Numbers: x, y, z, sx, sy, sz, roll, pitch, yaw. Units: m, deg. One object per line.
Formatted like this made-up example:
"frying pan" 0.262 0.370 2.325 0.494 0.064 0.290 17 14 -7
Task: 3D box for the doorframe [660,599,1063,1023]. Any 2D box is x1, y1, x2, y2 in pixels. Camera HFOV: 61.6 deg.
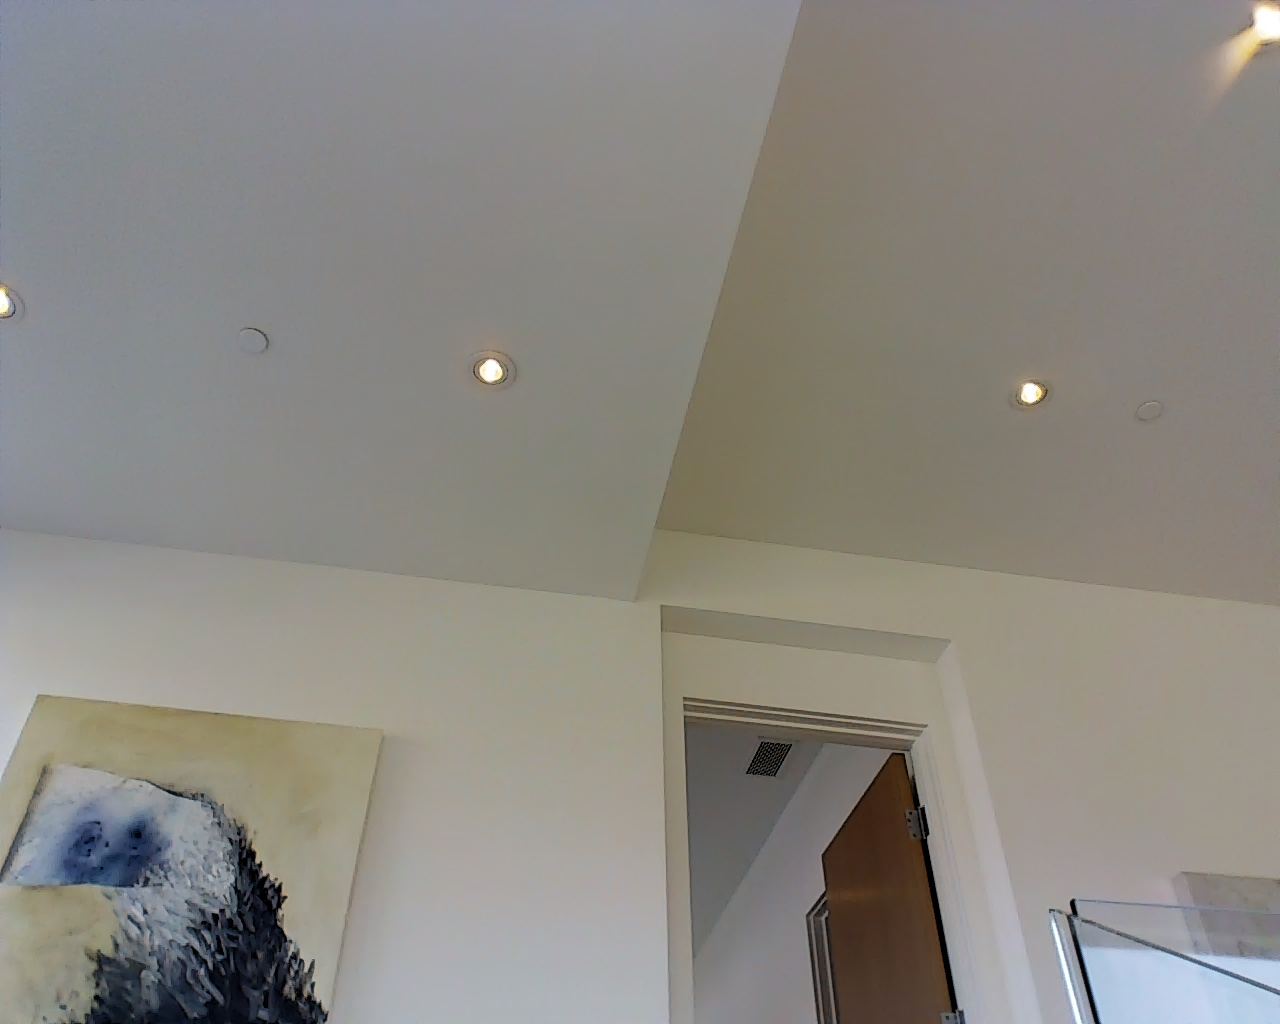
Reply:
"doorframe" 0.580 1.410 2.730 1.030 0.180 2.720 7 47 -7

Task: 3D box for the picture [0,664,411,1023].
"picture" -1.180 0.990 2.560 1.060 0.050 1.340 7 48 -7
